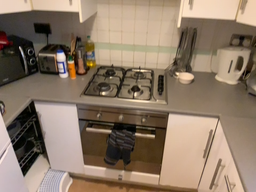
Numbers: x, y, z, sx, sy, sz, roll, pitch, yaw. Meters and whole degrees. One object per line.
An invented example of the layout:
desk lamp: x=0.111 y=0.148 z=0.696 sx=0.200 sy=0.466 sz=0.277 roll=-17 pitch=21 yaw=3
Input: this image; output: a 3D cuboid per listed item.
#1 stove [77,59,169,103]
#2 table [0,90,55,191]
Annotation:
stove: x=0.000 y=-0.140 z=1.610 sx=0.610 sy=0.030 sz=0.540 roll=6 pitch=32 yaw=6
table: x=-0.950 y=0.410 z=1.540 sx=0.590 sy=0.880 sz=0.310 roll=6 pitch=32 yaw=6
